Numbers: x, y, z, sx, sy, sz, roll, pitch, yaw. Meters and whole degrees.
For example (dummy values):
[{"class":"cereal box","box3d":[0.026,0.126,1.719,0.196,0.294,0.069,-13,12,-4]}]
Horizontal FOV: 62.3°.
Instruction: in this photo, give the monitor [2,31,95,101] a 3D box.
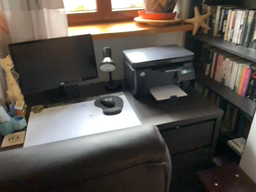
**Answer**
[{"class":"monitor","box3d":[-0.480,-0.200,1.370,0.500,0.380,0.020,-12,21,-22]}]

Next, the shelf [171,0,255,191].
[{"class":"shelf","box3d":[0.710,-0.350,1.460,0.310,2.000,0.890,-10,30,-14]}]

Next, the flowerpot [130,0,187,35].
[{"class":"flowerpot","box3d":[0.240,-0.750,1.750,0.350,0.380,0.340,-10,30,-15]}]
